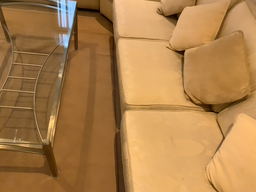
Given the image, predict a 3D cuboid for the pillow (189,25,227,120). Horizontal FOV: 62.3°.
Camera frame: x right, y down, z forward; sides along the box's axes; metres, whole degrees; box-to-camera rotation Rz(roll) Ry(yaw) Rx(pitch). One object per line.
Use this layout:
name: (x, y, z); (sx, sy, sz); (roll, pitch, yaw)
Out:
pillow: (0.490, -0.140, 1.290); (0.130, 0.360, 0.430); (-9, 129, 25)

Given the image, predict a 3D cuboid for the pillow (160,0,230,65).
pillow: (0.450, -0.480, 1.520); (0.170, 0.340, 0.440); (-38, 85, 1)
